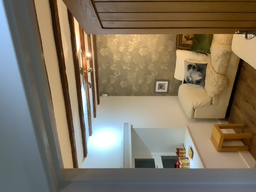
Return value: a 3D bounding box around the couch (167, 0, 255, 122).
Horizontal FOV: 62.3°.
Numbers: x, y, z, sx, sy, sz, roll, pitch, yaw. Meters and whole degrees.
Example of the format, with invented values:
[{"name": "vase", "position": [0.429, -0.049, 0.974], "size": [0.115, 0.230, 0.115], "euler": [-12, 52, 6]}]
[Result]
[{"name": "couch", "position": [1.220, -0.720, 3.530], "size": [1.050, 0.740, 2.050], "euler": [-91, 2, -61]}]
